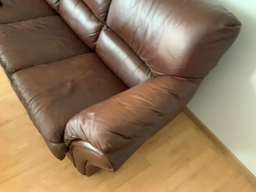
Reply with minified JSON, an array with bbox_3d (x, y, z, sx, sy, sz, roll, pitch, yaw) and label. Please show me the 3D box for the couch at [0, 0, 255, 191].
[{"bbox_3d":[-0.490,-0.550,1.490,0.970,0.960,2.090,-30,62,-26],"label":"couch"}]
